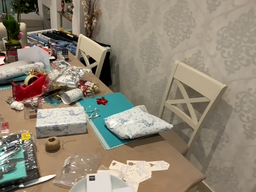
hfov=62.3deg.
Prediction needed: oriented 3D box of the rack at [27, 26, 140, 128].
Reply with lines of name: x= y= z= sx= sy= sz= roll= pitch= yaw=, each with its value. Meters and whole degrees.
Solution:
rack: x=-0.550 y=-0.300 z=2.550 sx=1.140 sy=0.750 sz=0.610 roll=25 pitch=34 yaw=28
